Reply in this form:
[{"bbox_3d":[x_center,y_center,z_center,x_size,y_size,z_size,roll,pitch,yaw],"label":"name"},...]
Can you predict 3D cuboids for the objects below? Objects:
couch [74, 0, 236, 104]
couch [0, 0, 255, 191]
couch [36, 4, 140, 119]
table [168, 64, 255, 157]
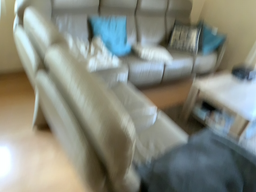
[{"bbox_3d":[0.380,-0.710,2.830,1.880,0.950,0.860,-13,41,-36],"label":"couch"},{"bbox_3d":[-0.070,0.150,1.280,0.970,0.990,1.410,-14,41,-36],"label":"couch"},{"bbox_3d":[-0.390,-0.360,2.120,0.780,0.820,0.550,16,32,4],"label":"couch"},{"bbox_3d":[1.200,0.060,2.410,1.370,0.460,0.630,-15,42,-37],"label":"table"}]
